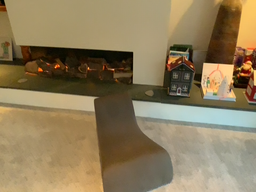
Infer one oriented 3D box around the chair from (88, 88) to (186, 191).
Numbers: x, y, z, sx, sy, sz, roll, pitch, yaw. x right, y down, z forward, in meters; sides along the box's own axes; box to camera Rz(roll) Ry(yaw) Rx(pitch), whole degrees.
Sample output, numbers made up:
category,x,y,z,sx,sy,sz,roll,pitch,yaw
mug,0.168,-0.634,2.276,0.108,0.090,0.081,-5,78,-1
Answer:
category,x,y,z,sx,sy,sz,roll,pitch,yaw
chair,0.010,0.360,1.690,0.520,0.510,0.720,-8,32,-15
